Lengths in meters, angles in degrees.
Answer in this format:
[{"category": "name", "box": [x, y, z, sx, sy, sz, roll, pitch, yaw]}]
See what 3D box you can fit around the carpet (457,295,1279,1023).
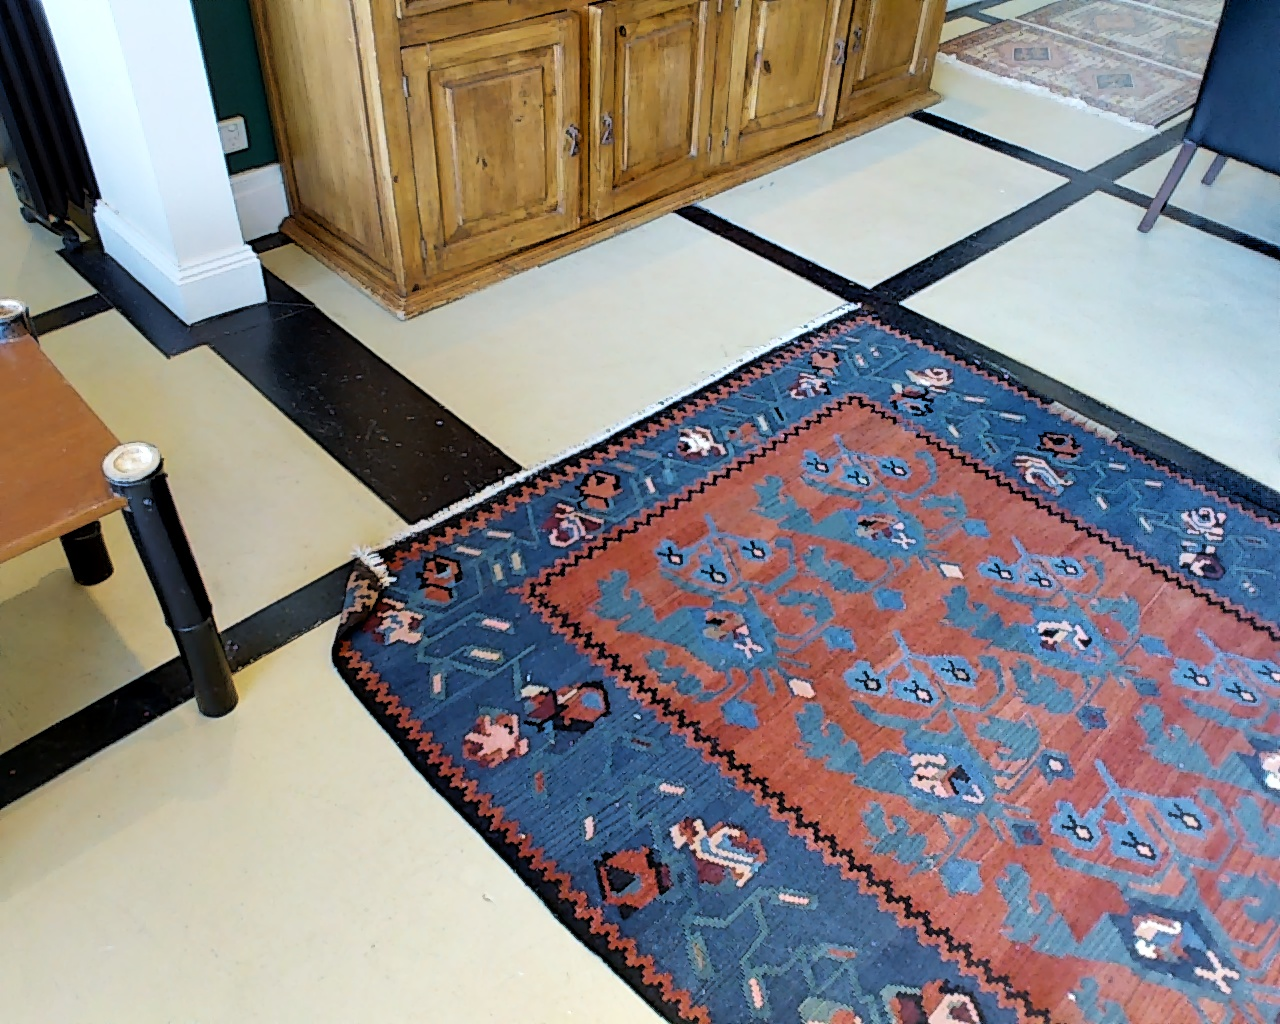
[{"category": "carpet", "box": [0.960, 0.360, 1.620, 1.250, 0.010, 2.450, -31, 51, -32]}]
